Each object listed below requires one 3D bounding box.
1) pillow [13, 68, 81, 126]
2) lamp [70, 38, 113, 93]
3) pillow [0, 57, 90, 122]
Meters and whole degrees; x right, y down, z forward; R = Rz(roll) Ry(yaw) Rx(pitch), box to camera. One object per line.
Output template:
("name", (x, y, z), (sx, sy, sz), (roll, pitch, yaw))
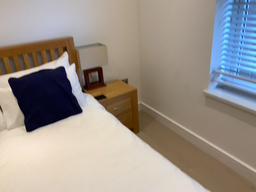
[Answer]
("pillow", (-0.650, 0.000, 1.700), (0.460, 0.390, 0.200), (-2, 21, -34))
("lamp", (-0.380, -0.330, 2.280), (0.350, 0.500, 0.190), (-16, 28, -25))
("pillow", (-0.700, -0.030, 1.820), (0.630, 0.420, 0.170), (12, 14, -37))
